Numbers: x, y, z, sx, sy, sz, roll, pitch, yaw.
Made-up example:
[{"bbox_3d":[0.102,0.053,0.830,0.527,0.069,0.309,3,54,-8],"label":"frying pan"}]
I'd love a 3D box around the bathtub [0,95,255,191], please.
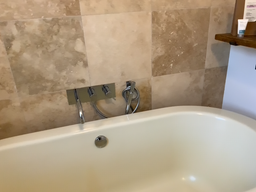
[{"bbox_3d":[-0.060,0.580,1.070,1.760,0.620,0.820,-10,25,-15],"label":"bathtub"}]
